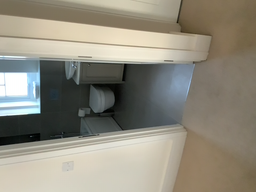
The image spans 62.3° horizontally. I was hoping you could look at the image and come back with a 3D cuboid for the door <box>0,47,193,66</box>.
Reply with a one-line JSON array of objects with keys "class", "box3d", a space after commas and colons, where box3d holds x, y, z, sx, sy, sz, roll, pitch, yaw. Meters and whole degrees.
[{"class": "door", "box3d": [-0.400, -0.330, 1.870, 0.700, 1.920, 0.060, 13, 104, 62]}]
